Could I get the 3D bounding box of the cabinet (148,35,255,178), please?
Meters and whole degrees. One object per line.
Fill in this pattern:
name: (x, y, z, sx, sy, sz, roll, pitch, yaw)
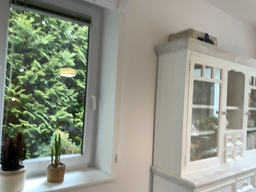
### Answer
cabinet: (0.990, 0.120, 2.270, 1.660, 1.090, 0.390, 4, -1, -37)
